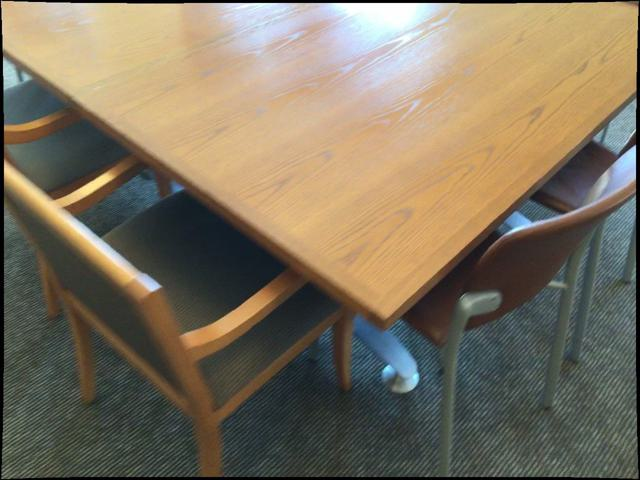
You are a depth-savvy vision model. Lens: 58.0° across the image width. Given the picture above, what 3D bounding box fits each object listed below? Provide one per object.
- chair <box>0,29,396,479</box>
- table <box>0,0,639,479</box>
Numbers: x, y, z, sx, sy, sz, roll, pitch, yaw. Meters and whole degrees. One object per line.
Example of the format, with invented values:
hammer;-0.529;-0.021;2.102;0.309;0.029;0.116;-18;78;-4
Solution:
chair;-0.279;0.090;1.310;0.580;0.791;0.610;32;53;28
table;-0.160;-0.401;1.740;1.359;0.611;1.759;-34;54;-30
